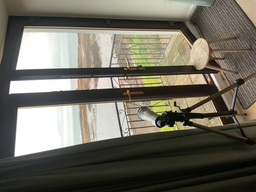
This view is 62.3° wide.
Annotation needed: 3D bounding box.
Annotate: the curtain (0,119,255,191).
[{"bbox_3d":[0.270,0.380,1.130,0.170,2.270,0.370,108,154,-52],"label":"curtain"}]
